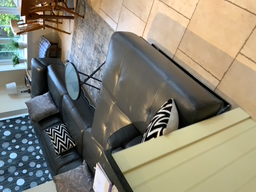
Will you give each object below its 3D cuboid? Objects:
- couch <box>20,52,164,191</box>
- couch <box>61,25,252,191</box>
[{"bbox_3d":[-0.800,0.600,3.090,2.980,0.750,1.070,50,136,36],"label":"couch"},{"bbox_3d":[0.030,0.270,1.820,1.040,0.760,1.340,50,136,35],"label":"couch"}]
